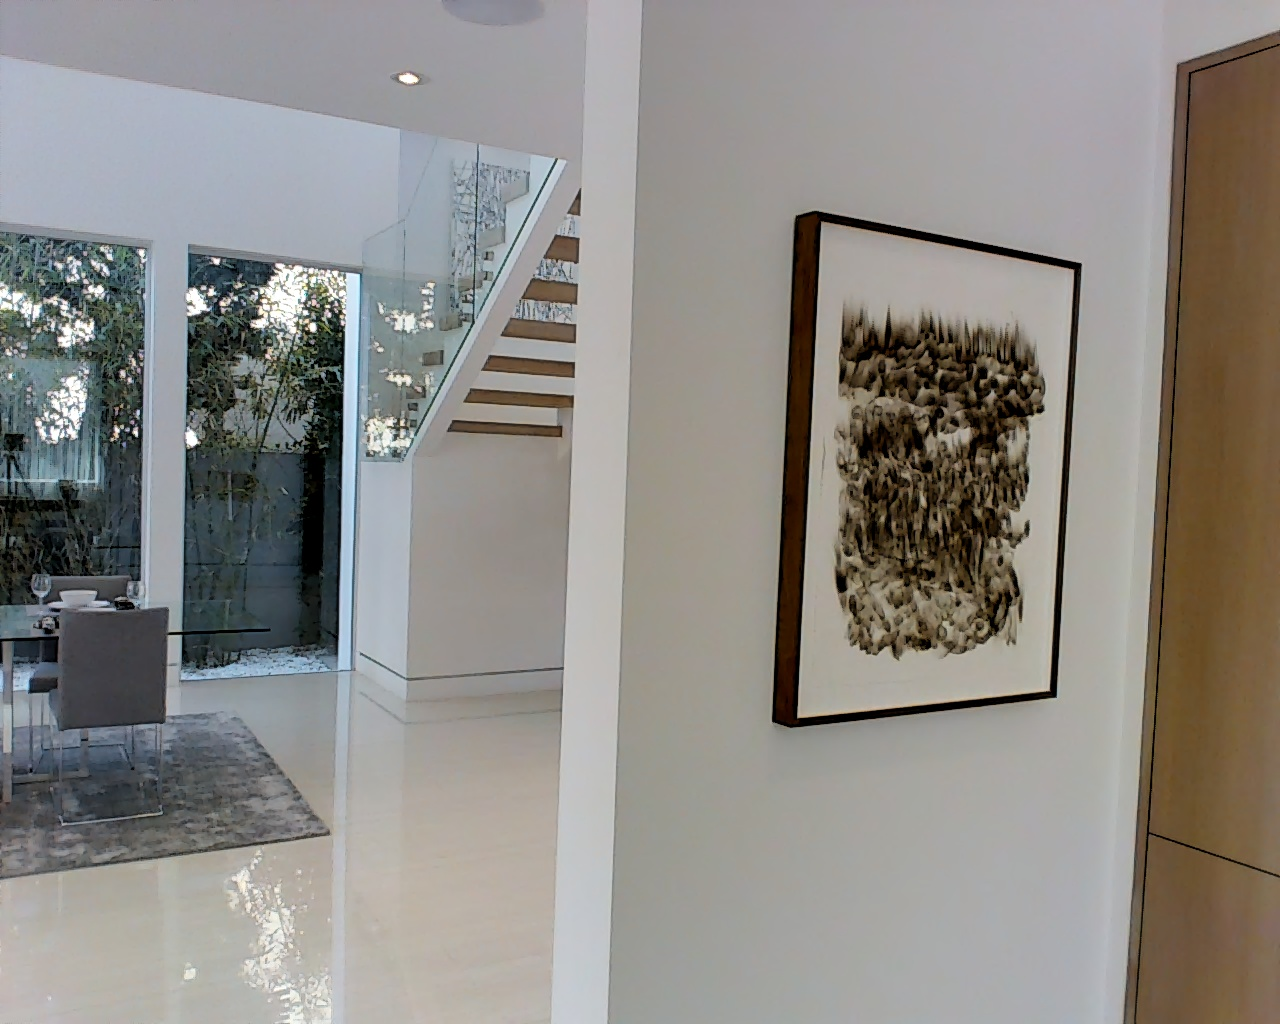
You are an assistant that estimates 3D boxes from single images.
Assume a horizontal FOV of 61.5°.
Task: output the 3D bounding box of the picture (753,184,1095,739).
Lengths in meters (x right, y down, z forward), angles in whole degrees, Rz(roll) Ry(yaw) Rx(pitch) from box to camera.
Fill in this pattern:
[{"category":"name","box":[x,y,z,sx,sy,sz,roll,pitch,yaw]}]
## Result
[{"category":"picture","box":[0.570,-0.080,2.070,0.770,0.950,0.070,0,3,-30]}]
